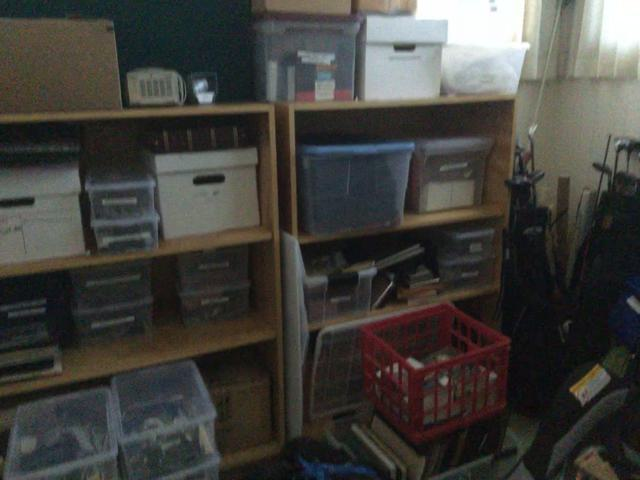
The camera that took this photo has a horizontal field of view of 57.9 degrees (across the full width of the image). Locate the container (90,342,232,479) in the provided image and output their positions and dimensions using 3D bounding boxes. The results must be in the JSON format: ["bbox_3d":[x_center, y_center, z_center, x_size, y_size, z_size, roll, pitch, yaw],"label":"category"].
[{"bbox_3d":[-0.500,0.650,1.800,0.320,0.440,0.500,-9,17,-23],"label":"container"}]

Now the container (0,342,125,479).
[{"bbox_3d":[-0.740,0.550,1.570,0.340,0.260,0.610,-9,17,-24],"label":"container"}]

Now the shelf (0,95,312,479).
[{"bbox_3d":[-0.620,0.220,1.870,0.950,1.300,0.700,-9,17,-23],"label":"shelf"}]
